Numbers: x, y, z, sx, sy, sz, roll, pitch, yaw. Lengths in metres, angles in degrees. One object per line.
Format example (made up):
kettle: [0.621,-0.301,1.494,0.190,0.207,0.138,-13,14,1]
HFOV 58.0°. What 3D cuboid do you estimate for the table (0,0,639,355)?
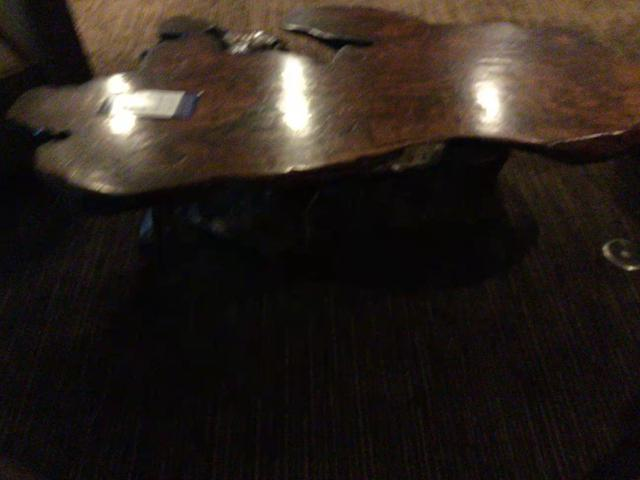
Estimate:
table: [0.040,-0.250,1.570,1.650,0.460,0.910,-3,47,-1]
